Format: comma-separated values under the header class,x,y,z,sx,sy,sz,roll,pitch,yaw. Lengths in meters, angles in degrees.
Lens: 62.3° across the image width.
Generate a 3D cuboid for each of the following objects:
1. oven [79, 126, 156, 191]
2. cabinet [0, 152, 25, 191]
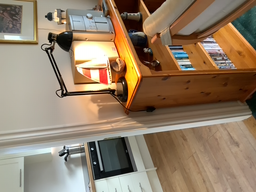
class,x,y,z,sx,sy,sz,roll,pitch,yaw
oven,-0.200,0.930,3.170,0.610,0.910,0.610,111,147,-48
cabinet,-1.580,1.110,2.800,0.280,0.370,0.610,111,147,-48
